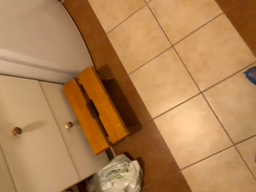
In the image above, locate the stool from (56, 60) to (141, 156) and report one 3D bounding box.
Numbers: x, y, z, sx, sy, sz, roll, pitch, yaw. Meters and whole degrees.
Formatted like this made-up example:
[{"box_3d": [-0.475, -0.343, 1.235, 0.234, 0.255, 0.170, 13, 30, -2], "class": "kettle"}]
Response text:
[{"box_3d": [-0.150, 0.060, 1.160, 0.210, 0.260, 0.420, -31, 77, 16], "class": "stool"}]
